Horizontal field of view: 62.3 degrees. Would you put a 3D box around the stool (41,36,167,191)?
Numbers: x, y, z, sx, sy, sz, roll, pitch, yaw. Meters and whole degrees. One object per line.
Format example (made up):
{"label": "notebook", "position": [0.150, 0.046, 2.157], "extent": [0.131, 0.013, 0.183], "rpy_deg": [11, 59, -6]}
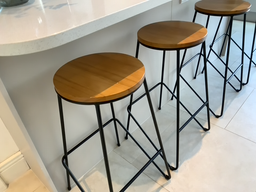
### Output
{"label": "stool", "position": [-0.060, 0.150, 0.980], "extent": [0.310, 0.710, 0.340], "rpy_deg": [26, 46, 34]}
